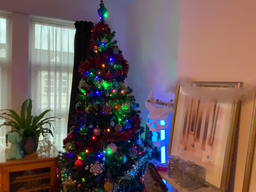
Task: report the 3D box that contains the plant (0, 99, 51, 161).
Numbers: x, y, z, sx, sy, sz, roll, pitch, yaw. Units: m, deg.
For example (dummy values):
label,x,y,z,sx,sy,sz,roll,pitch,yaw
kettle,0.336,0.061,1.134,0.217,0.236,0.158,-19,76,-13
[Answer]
label,x,y,z,sx,sy,sz,roll,pitch,yaw
plant,-1.040,0.310,2.190,0.430,0.520,0.460,1,4,-24

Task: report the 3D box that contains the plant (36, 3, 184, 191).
label,x,y,z,sx,sy,sz,roll,pitch,yaw
plant,-0.250,0.490,1.930,0.990,2.120,0.920,1,4,-28
